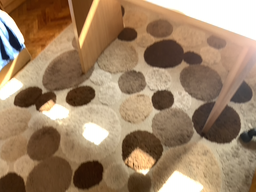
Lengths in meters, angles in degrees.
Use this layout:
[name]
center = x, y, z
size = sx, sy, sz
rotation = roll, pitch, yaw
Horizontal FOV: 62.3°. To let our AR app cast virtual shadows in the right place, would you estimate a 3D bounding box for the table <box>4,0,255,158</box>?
[table]
center = 0.120, -0.420, 1.180
size = 1.360, 0.800, 0.720
rotation = 27, 63, 16
